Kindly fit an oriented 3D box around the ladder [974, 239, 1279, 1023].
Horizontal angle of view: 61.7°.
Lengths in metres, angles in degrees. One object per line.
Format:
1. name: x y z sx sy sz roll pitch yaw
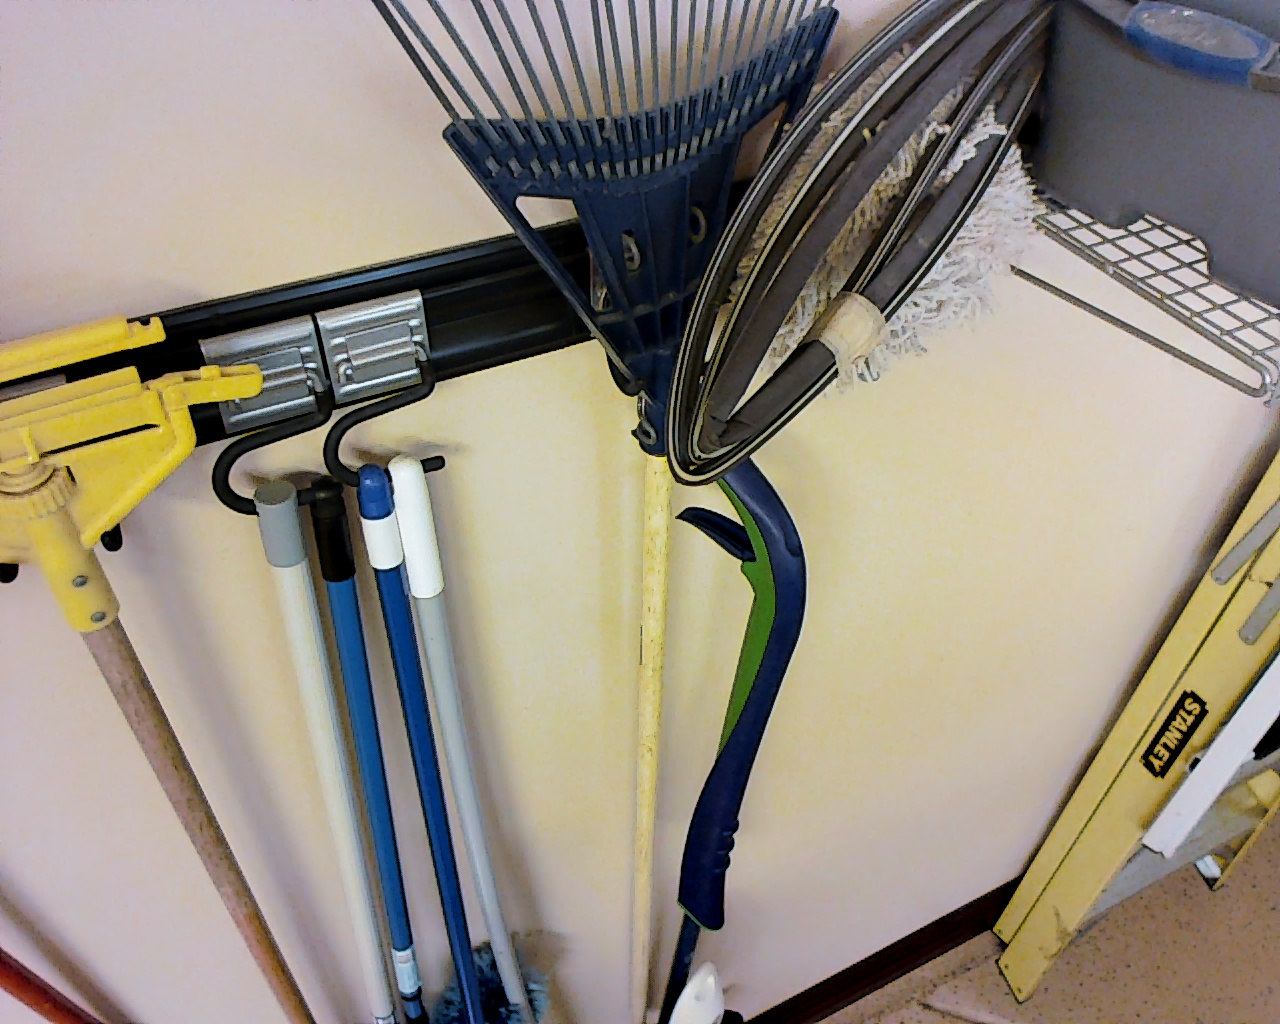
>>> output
1. ladder: 1.050 0.090 1.530 0.660 2.100 0.280 -18 44 -20
